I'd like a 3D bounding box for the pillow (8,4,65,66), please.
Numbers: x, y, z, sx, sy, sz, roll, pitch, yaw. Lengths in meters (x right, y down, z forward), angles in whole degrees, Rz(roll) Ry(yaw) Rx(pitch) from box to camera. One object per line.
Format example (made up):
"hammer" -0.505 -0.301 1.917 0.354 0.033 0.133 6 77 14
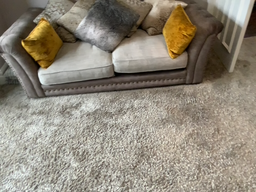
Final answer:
"pillow" -0.920 -0.590 2.230 0.270 0.440 0.670 -4 0 1

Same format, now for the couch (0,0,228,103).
"couch" -0.230 -0.650 2.500 2.200 0.690 1.090 -6 41 -2

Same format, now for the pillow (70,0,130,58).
"pillow" -0.340 -0.890 2.390 0.270 0.590 0.740 16 -32 -38

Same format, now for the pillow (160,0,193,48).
"pillow" 0.490 -0.740 2.230 0.180 0.370 0.590 -4 4 0
